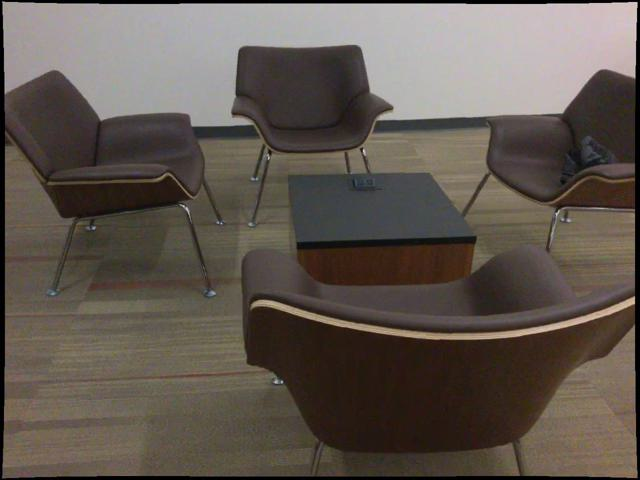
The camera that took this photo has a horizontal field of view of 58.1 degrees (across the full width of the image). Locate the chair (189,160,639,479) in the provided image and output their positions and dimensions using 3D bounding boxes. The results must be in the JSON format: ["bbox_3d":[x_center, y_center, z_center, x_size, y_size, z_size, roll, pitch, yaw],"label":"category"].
[{"bbox_3d":[0.219,0.291,1.430,0.868,0.762,0.750,0,28,-1],"label":"chair"}]

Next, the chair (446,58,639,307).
[{"bbox_3d":[1.157,-0.321,2.570,0.778,0.772,0.870,-7,29,-14],"label":"chair"}]

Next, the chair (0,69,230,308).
[{"bbox_3d":[-0.868,-0.271,2.510,0.818,0.752,0.860,-1,28,-3],"label":"chair"}]

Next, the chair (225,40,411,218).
[{"bbox_3d":[-0.060,-0.662,3.230,0.848,0.731,0.830,-5,28,-10],"label":"chair"}]
